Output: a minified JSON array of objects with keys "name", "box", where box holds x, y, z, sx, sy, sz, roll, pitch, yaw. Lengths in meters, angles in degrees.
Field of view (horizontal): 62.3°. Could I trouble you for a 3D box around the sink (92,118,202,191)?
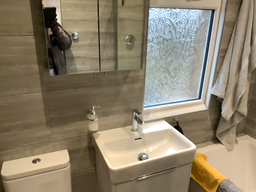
[{"name":"sink","box":[0.100,0.330,1.340,0.570,0.130,0.390,-8,23,-22]}]
